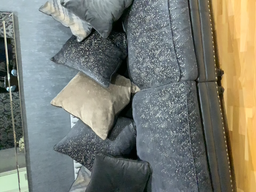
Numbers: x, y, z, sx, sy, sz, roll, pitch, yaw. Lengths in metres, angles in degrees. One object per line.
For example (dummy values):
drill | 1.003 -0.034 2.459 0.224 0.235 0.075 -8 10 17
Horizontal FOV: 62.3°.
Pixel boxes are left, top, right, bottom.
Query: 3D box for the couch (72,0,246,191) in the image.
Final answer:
couch | 0.140 -0.060 1.770 1.070 0.760 2.620 -10 86 61
